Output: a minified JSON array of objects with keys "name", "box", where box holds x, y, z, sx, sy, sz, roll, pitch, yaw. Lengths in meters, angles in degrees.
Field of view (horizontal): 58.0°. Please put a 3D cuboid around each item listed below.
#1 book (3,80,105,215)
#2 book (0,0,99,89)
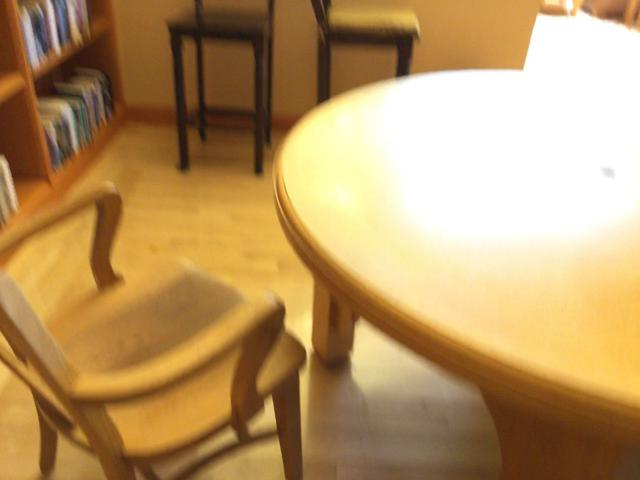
[{"name":"book","box":[-1.140,-0.420,2.540,0.160,0.410,0.510,3,33,0]},{"name":"book","box":[-1.110,-0.850,2.330,0.200,0.300,0.560,3,33,0]}]
